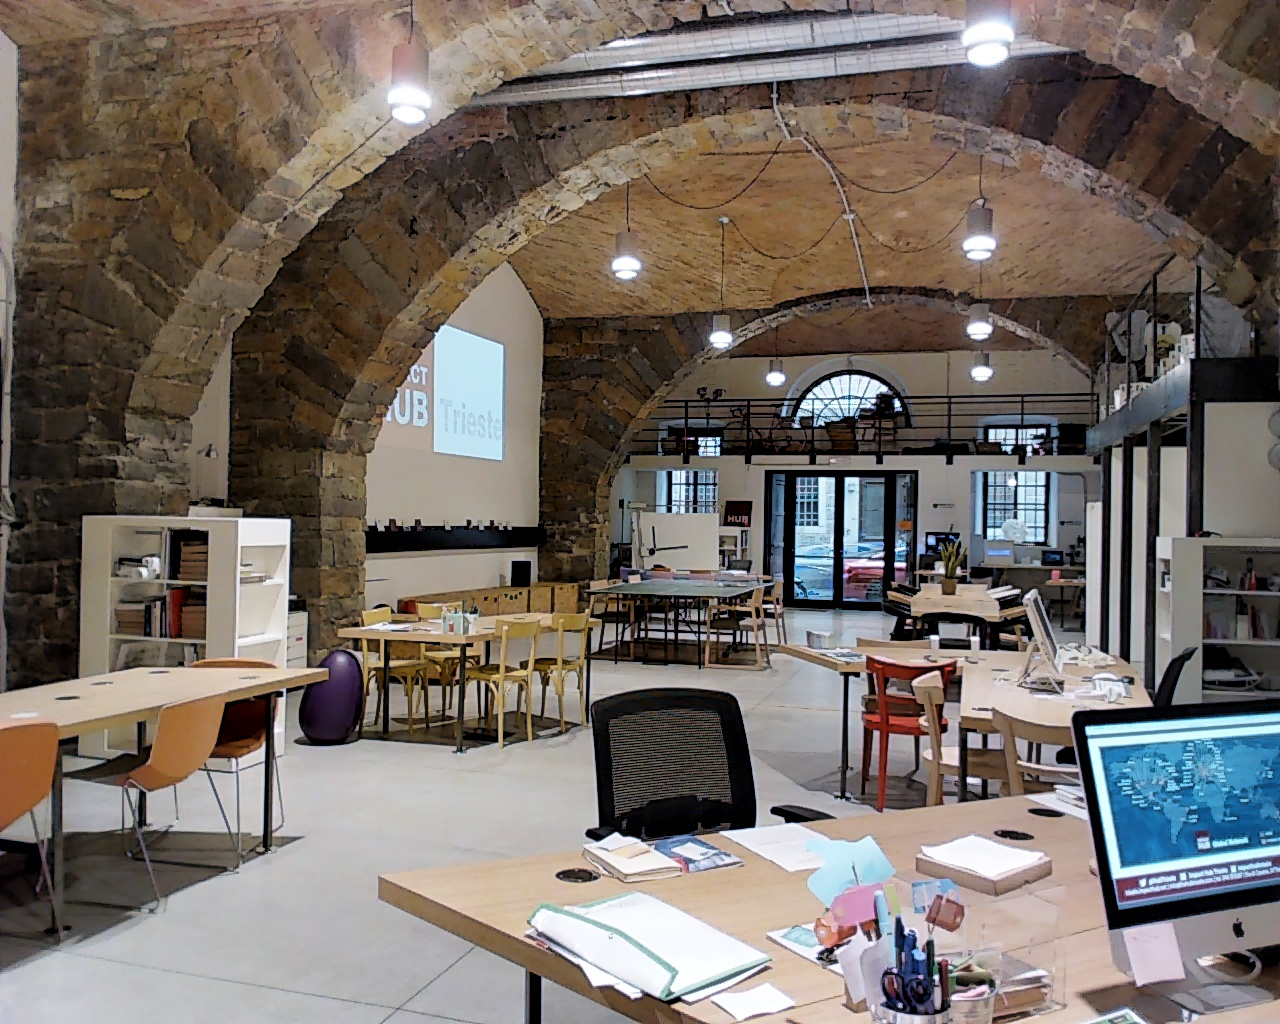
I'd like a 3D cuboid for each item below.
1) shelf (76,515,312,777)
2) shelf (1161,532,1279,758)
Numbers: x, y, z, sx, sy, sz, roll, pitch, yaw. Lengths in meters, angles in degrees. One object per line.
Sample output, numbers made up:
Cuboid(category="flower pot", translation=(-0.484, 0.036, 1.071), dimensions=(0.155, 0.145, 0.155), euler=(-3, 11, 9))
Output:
Cuboid(category="shelf", translation=(-2.729, 0.770, 6.610), dimensions=(1.240, 1.480, 0.570), euler=(1, -1, 18))
Cuboid(category="shelf", translation=(4.289, 0.910, 7.630), dimensions=(0.960, 1.510, 0.650), euler=(1, -1, 17))
